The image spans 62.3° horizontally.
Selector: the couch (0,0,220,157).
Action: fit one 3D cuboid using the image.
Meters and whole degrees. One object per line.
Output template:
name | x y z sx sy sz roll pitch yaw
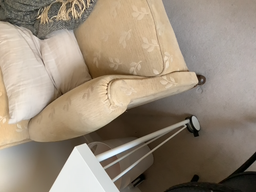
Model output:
couch | -0.320 -0.200 0.970 0.960 0.920 0.730 -24 80 38
